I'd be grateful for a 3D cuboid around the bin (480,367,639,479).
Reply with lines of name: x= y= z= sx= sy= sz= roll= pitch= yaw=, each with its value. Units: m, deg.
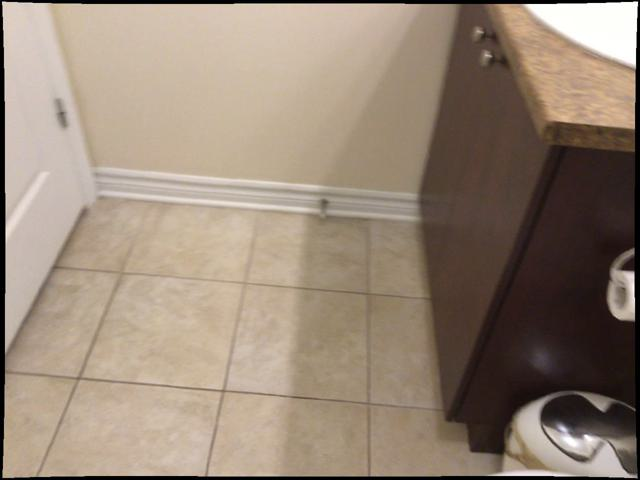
bin: x=0.490 y=0.420 z=1.120 sx=0.260 sy=0.290 sz=0.200 roll=4 pitch=44 yaw=0
